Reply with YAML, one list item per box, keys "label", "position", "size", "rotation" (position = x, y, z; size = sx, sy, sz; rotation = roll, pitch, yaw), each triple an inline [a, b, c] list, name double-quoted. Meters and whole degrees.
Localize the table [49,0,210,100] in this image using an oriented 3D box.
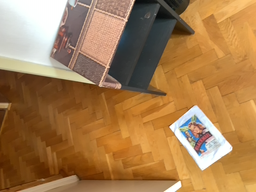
- label: "table"
  position: [0.090, -0.460, 1.070]
  size: [0.350, 0.620, 0.860]
  rotation: [28, 103, 33]
